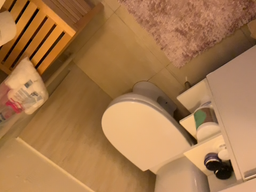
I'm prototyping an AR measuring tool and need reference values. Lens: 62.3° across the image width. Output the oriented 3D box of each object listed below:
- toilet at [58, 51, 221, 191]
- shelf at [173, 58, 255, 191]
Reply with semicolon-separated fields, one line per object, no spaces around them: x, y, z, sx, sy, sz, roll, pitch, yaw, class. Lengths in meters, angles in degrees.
0.130;0.250;1.180;0.370;0.790;0.650;-35;112;28;toilet
0.440;0.180;1.060;0.190;0.820;0.400;-35;112;28;shelf
